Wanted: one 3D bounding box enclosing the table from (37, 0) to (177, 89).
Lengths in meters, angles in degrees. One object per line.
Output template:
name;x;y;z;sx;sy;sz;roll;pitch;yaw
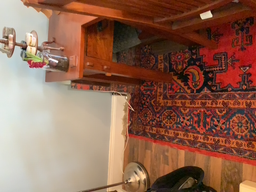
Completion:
table;-0.110;-0.830;1.490;0.540;0.790;1.500;1;88;49
